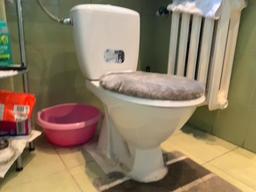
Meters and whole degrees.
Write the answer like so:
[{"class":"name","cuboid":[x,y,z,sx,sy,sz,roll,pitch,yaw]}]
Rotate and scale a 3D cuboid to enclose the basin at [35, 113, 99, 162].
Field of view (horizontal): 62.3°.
[{"class":"basin","cuboid":[-0.350,0.220,1.210,0.290,0.130,0.240,-7,18,-29]}]
